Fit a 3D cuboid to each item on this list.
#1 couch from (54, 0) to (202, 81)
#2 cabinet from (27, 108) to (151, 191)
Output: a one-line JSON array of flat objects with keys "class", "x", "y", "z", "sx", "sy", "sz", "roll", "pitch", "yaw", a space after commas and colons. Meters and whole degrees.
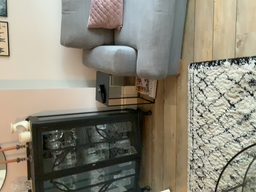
[{"class": "couch", "x": -0.090, "y": -0.890, "z": 1.900, "sx": 1.170, "sy": 0.850, "sz": 1.380, "roll": 18, "pitch": 108, "yaw": 57}, {"class": "cabinet", "x": -0.330, "y": 0.660, "z": 2.110, "sx": 0.330, "sy": 1.150, "sz": 0.980, "roll": 5, "pitch": 96, "yaw": 58}]
